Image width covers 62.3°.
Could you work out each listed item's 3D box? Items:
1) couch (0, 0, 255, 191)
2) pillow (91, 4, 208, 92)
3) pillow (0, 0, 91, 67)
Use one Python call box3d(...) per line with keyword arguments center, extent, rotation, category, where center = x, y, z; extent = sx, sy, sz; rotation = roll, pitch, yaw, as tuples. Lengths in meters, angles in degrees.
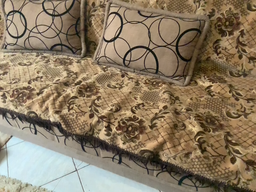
box3d(center=(-0.150, -0.250, 1.160), extent=(1.930, 0.940, 1.000), rotation=(14, 45, 16), category="couch")
box3d(center=(0.090, -0.250, 1.070), extent=(0.520, 0.350, 0.150), rotation=(10, 17, 14), category="pillow")
box3d(center=(-0.540, -0.390, 1.250), extent=(0.600, 0.340, 0.180), rotation=(8, 18, 9), category="pillow")
